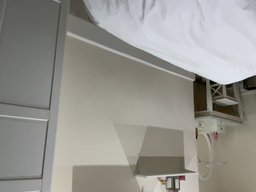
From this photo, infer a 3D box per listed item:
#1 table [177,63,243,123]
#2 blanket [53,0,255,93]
[{"bbox_3d":[1.330,0.010,3.420,1.040,0.710,0.480,12,162,-37],"label":"table"},{"bbox_3d":[0.530,-0.350,1.440,1.770,0.200,0.850,12,162,-37],"label":"blanket"}]
